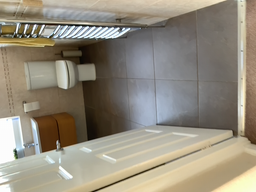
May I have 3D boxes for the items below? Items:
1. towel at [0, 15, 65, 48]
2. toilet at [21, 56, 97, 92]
[{"bbox_3d":[-0.730,-0.410,1.390,0.300,0.530,0.140,3,100,57],"label":"towel"},{"bbox_3d":[-0.920,-0.310,2.800,0.660,0.780,0.370,10,106,56],"label":"toilet"}]
